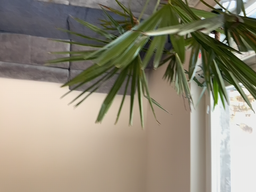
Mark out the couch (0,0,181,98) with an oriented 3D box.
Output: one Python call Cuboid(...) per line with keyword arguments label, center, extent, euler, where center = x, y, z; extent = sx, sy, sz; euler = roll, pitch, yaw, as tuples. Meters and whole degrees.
Cuboid(label="couch", center=(-0.670, -0.650, 2.520), extent=(2.270, 1.010, 1.090), euler=(5, 171, -13))
